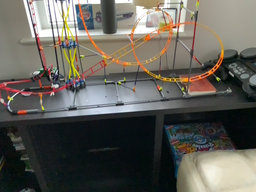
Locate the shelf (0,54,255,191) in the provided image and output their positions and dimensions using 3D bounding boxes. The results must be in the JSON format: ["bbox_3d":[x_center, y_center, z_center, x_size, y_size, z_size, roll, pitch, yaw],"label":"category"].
[{"bbox_3d":[-0.050,0.210,1.270,2.100,0.660,0.530,-4,32,-5],"label":"shelf"}]
